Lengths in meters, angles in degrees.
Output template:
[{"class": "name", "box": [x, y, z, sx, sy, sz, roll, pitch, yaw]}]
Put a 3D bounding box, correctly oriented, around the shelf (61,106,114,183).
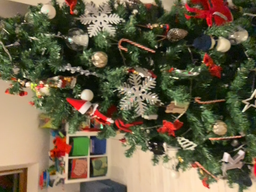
[{"class": "shelf", "box": [-0.720, 0.840, 3.790, 0.490, 0.790, 1.200, -27, 62, 61]}]
